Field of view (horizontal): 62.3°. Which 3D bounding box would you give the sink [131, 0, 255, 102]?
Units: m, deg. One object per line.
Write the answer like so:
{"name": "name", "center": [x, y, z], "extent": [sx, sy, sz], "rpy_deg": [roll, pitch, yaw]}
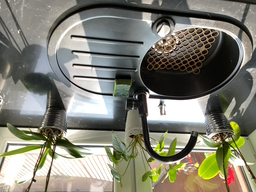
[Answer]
{"name": "sink", "center": [0.240, -0.170, 0.880], "extent": [0.390, 0.150, 0.400], "rpy_deg": [4, 140, -8]}

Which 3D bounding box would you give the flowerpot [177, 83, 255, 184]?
{"name": "flowerpot", "center": [0.470, 0.200, 1.170], "extent": [0.230, 0.470, 0.260], "rpy_deg": [6, 140, -11]}
